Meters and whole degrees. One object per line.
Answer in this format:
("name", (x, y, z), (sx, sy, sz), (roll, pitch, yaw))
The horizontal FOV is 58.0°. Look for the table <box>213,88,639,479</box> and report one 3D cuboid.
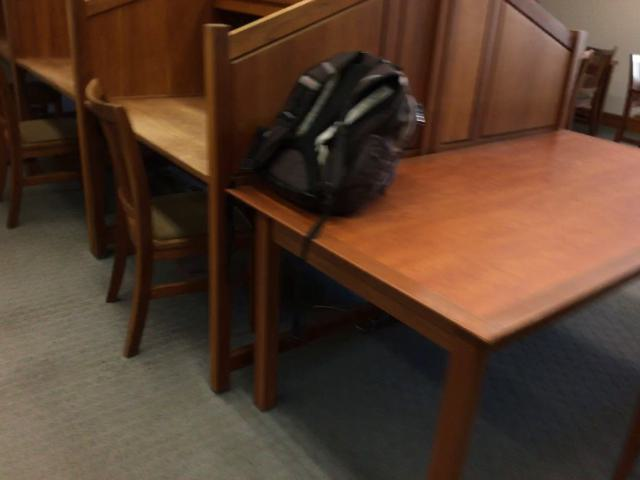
("table", (0.700, 0.140, 2.000), (1.790, 0.900, 0.930), (-20, 32, -32))
